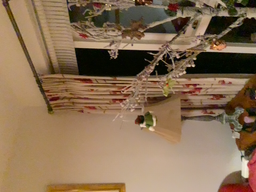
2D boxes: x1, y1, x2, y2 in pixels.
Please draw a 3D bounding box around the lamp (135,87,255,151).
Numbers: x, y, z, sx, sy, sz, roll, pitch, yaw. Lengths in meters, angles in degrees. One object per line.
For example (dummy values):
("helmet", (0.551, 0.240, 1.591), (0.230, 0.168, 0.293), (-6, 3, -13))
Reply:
("lamp", (0.550, 0.220, 1.890), (0.480, 0.890, 0.370), (100, 169, -57))
